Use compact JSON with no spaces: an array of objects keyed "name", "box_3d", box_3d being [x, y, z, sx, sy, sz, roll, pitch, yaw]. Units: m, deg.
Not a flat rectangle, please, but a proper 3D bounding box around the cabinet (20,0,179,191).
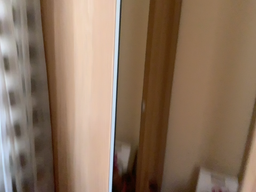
[{"name":"cabinet","box_3d":[-0.090,-0.110,1.260,0.500,2.380,0.790,10,16,25]}]
